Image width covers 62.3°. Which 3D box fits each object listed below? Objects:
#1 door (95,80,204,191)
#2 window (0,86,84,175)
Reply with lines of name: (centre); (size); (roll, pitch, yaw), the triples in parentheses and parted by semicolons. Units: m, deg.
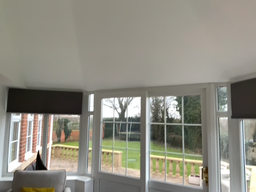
door: (0.190, 0.930, 2.940); (1.650, 2.170, 0.050); (-3, -8, 34)
window: (-1.350, 0.540, 3.370); (1.220, 1.320, 0.120); (3, -6, -14)
